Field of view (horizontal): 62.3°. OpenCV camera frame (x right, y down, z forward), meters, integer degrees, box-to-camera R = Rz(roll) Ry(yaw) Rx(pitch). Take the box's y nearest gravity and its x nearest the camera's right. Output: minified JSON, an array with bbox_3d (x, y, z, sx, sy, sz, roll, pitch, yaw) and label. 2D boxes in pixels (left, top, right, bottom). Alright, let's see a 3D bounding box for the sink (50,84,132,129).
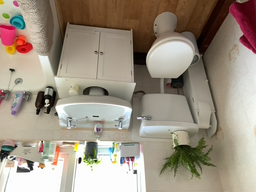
[{"bbox_3d":[-0.280,0.100,1.710,0.580,0.200,0.360,3,149,-7],"label":"sink"}]
